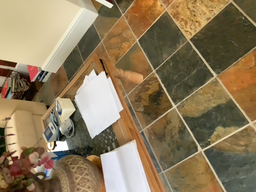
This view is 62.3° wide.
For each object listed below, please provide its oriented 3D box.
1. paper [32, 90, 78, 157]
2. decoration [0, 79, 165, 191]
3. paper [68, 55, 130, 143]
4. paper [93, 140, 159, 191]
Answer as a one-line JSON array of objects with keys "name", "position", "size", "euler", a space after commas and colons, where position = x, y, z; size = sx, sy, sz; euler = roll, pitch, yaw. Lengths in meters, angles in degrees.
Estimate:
[{"name": "paper", "position": [-0.520, 0.190, 1.470], "size": [0.330, 0.090, 0.330], "euler": [-42, 59, 30]}, {"name": "decoration", "position": [-0.380, 0.420, 0.910], "size": [0.730, 0.640, 0.590], "euler": [-45, 58, 28]}, {"name": "paper", "position": [-0.190, 0.020, 1.220], "size": [0.330, 0.060, 0.380], "euler": [-41, 60, 30]}, {"name": "paper", "position": [-0.010, 0.400, 0.980], "size": [0.230, 0.110, 0.310], "euler": [-39, 61, 31]}]
